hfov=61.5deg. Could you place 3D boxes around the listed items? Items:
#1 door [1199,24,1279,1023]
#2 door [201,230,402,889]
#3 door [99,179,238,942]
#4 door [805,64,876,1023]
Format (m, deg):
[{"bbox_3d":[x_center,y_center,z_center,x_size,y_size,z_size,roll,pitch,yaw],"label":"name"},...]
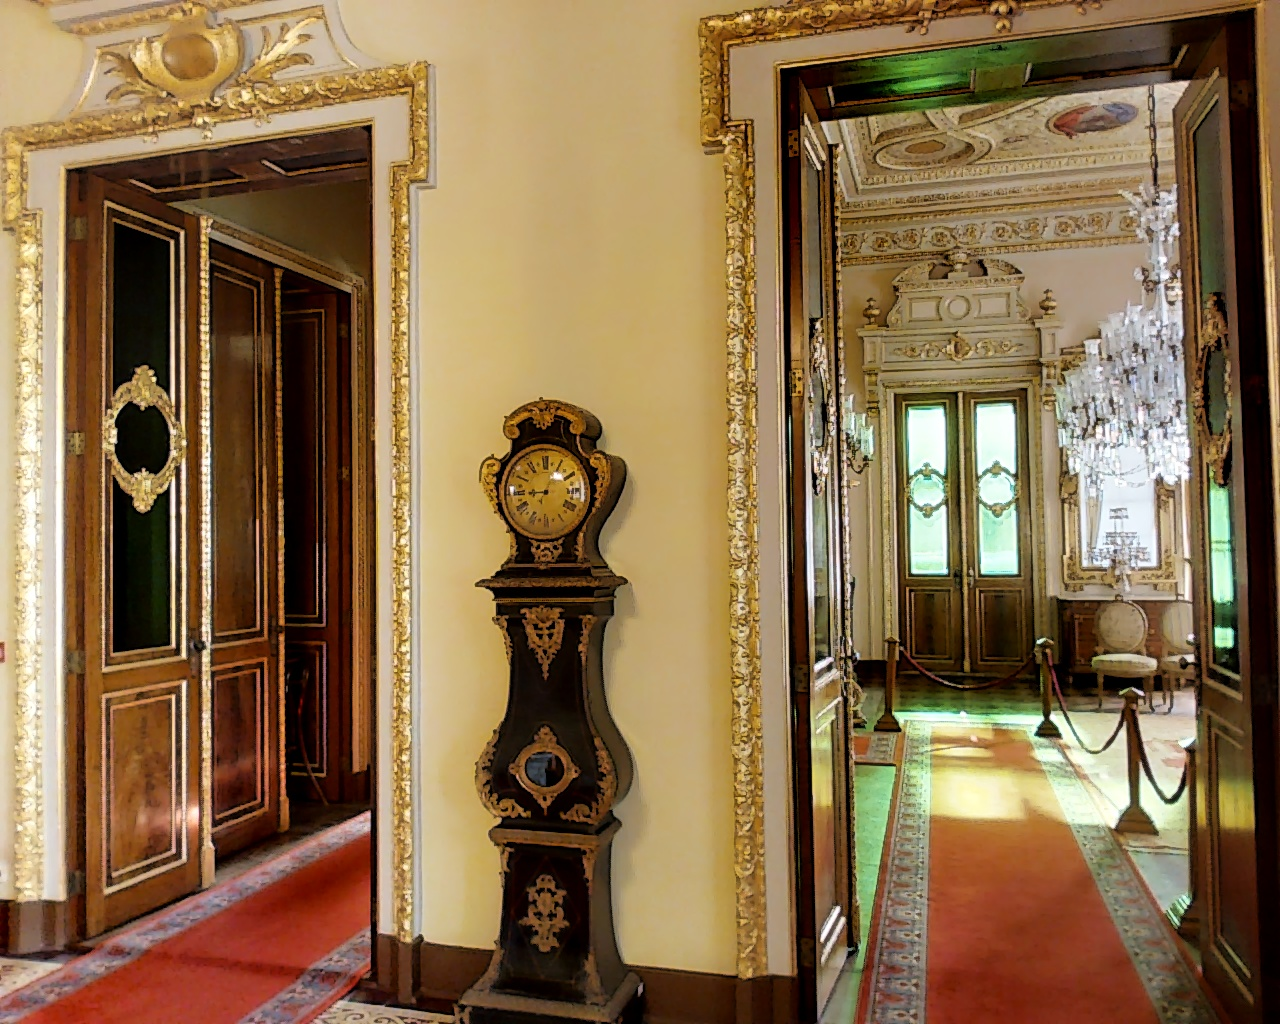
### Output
[{"bbox_3d":[2.049,0.130,3.610,0.110,3.271,0.640,-1,-2,17],"label":"door"},{"bbox_3d":[-1.929,0.250,6.350,0.170,3.371,1.710,-1,-2,17],"label":"door"},{"bbox_3d":[-2.169,0.200,4.990,0.120,3.271,0.750,-1,-2,17],"label":"door"},{"bbox_3d":[0.750,0.150,3.980,0.120,3.361,0.660,-1,-2,17],"label":"door"}]
